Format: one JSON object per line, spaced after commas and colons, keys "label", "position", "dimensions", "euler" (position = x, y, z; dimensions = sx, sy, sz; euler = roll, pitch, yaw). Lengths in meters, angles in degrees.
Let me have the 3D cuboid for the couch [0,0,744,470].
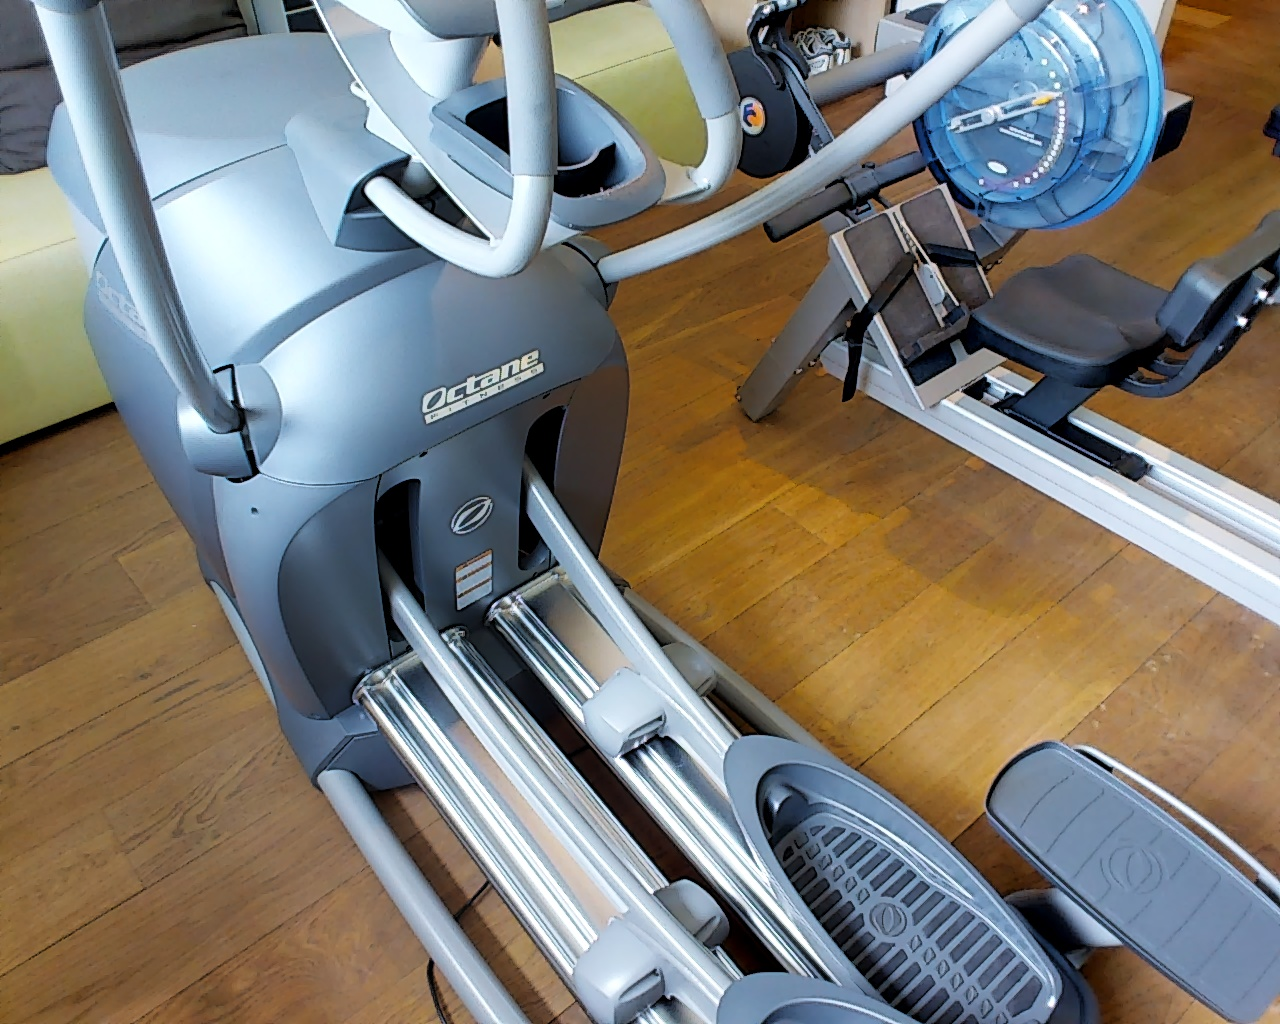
{"label": "couch", "position": [-0.970, -0.910, 2.470], "dimensions": [2.730, 0.910, 0.630], "euler": [-29, 49, -28]}
